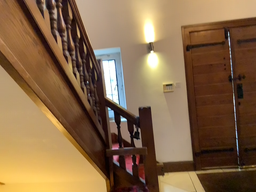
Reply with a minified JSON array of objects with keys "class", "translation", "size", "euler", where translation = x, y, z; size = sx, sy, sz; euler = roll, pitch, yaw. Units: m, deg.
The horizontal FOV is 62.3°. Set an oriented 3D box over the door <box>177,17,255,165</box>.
[{"class":"door","translation":[1.620,-0.060,3.390],"size":[1.450,2.250,0.070],"euler":[-5,3,4]}]
